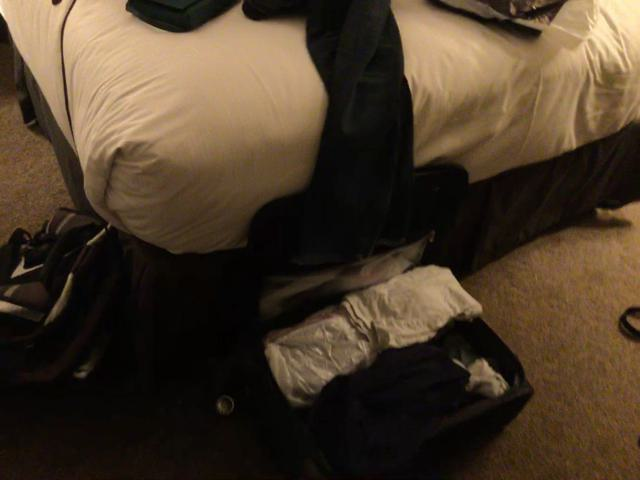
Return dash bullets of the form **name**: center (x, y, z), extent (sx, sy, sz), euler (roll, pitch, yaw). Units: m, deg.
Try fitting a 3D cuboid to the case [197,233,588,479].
- **case**: center (0.130, 0.290, 1.220), extent (0.650, 0.240, 0.430), euler (-16, 49, -24)
